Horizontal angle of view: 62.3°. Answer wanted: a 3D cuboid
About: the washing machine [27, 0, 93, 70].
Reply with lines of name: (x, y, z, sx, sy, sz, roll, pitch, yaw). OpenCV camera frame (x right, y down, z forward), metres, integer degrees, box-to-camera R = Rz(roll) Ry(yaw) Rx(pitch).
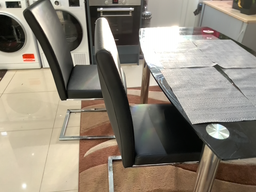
washing machine: (-0.810, -0.910, 2.750, 0.640, 0.940, 0.630, -3, 34, -7)

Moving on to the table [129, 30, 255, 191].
table: (0.460, 0.120, 1.420, 0.730, 0.740, 1.210, -3, 34, -7)

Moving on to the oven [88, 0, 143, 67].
oven: (-0.180, -1.100, 2.750, 0.630, 1.280, 0.590, -3, 34, -7)
